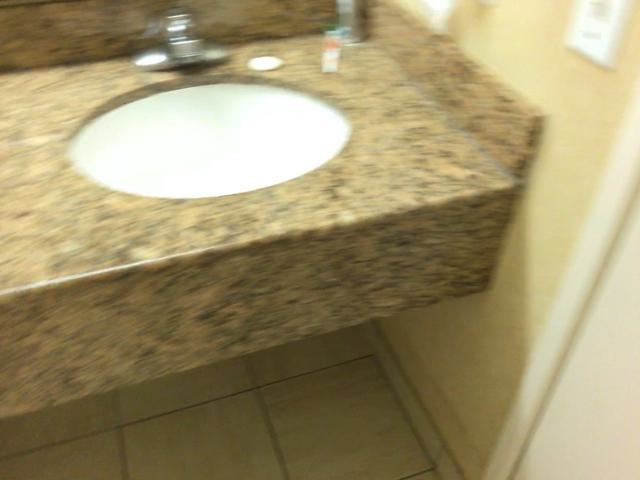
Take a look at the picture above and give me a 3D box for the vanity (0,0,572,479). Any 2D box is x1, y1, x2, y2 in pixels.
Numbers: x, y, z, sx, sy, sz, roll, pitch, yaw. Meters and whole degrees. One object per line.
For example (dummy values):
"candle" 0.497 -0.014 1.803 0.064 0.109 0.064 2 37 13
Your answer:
"vanity" -0.500 -0.030 0.820 1.480 0.420 0.590 -13 41 -17

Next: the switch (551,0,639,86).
"switch" 0.300 -0.240 0.600 0.020 0.120 0.110 -13 41 -17
